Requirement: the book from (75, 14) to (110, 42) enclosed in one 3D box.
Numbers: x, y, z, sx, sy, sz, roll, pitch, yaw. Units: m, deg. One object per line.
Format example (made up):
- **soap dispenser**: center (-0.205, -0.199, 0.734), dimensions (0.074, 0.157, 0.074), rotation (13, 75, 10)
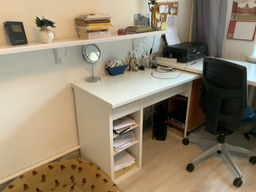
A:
- **book**: center (-0.280, -0.550, 1.700), dimensions (0.200, 0.190, 0.180), rotation (-18, 29, -37)
